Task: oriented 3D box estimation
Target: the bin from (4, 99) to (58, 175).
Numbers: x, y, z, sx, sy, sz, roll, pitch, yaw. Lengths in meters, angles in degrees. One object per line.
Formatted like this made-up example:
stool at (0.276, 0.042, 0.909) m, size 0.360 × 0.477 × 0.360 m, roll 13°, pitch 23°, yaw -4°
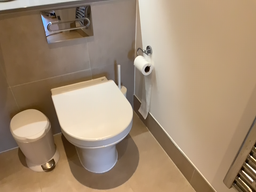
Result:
bin at (-0.570, 0.240, 1.260) m, size 0.200 × 0.320 × 0.250 m, roll -15°, pitch 41°, yaw -19°

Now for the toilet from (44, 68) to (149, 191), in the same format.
toilet at (-0.200, 0.190, 1.260) m, size 0.400 × 0.430 × 0.540 m, roll -16°, pitch 41°, yaw -20°
